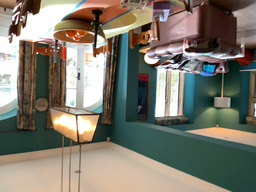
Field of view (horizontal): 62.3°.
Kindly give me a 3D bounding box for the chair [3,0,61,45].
[{"bbox_3d":[-0.980,-1.040,2.160,0.460,0.900,0.450,1,-178,-34],"label":"chair"}]
